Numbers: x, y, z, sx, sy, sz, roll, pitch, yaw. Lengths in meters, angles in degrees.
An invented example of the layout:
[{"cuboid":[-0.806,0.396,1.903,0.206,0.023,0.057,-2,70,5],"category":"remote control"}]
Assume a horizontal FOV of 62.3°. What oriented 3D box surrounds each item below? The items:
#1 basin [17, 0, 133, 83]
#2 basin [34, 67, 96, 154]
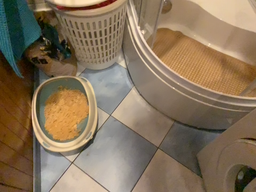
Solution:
[{"cuboid":[-0.250,-0.450,1.200,0.450,0.640,0.450,-6,63,-7],"category":"basin"},{"cuboid":[-0.340,0.070,1.200,0.290,0.130,0.460,-4,63,-6],"category":"basin"}]
